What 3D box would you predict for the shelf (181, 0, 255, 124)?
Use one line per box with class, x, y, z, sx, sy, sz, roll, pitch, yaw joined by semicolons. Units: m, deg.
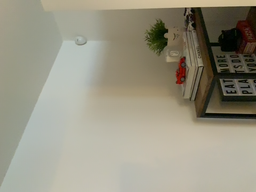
shelf;1.080;-0.250;1.190;0.380;1.430;0.740;84;-171;-50
